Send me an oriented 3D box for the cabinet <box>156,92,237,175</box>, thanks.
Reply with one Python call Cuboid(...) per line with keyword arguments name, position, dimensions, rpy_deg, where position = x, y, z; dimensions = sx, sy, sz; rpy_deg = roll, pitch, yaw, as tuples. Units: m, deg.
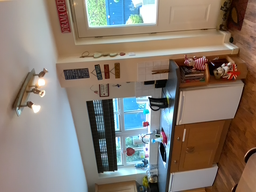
Cuboid(name="cabinet", position=(1.010, 0.600, 3.420), dimensions=(0.650, 0.920, 1.080), rpy_deg=(-104, 10, -57))
